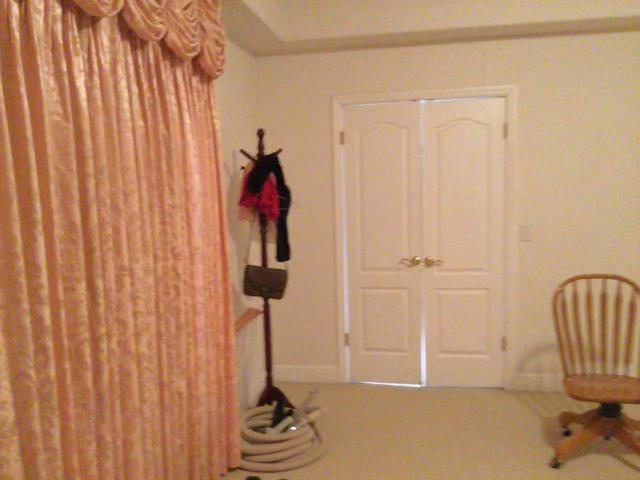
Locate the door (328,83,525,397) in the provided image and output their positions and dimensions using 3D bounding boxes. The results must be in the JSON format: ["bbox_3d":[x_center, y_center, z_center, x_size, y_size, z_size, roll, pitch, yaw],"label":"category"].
[{"bbox_3d":[0.700,0.020,3.870,1.250,2.010,0.120,0,5,12],"label":"door"}]

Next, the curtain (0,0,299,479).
[{"bbox_3d":[-0.820,0.230,1.410,0.430,2.250,3.270,-7,3,13],"label":"curtain"}]
